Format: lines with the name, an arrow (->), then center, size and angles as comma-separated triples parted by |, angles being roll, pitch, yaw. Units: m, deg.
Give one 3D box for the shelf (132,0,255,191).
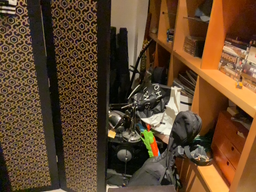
shelf -> 0.530, -0.170, 1.360 | 0.520, 2.080, 2.440 | 0, 25, -8
